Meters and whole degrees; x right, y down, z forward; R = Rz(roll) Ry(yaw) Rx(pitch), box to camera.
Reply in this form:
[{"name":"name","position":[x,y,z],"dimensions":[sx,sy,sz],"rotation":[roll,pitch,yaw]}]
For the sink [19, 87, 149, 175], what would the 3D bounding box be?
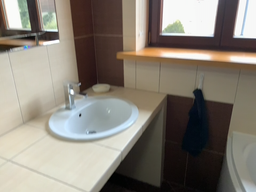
[{"name":"sink","position":[-0.220,0.150,1.330],"dimensions":[0.510,0.160,0.630],"rotation":[9,24,23]}]
